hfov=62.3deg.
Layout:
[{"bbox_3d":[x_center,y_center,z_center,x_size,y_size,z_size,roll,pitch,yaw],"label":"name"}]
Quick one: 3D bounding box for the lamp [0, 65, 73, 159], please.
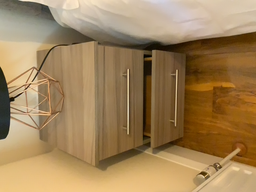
[{"bbox_3d":[-0.430,0.030,0.690,0.270,0.400,0.260,8,100,44],"label":"lamp"}]
